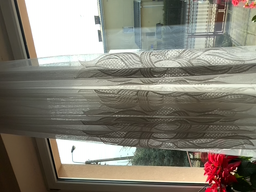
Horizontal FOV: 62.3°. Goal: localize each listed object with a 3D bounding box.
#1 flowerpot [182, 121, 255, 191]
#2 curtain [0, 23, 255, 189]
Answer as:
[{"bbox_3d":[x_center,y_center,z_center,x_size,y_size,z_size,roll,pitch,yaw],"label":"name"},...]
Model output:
[{"bbox_3d":[0.670,0.490,1.380,0.340,0.540,0.550,-78,-13,-68],"label":"flowerpot"},{"bbox_3d":[0.520,0.030,0.840,0.300,2.530,0.590,-79,-12,-67],"label":"curtain"}]
